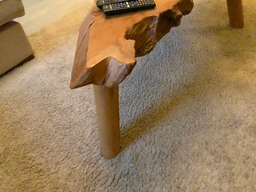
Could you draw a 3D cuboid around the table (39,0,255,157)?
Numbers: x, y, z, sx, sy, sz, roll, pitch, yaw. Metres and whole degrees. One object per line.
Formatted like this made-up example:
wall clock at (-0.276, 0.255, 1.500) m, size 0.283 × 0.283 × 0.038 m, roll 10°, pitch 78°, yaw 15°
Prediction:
table at (0.240, -0.420, 1.090) m, size 0.830 × 0.480 × 1.300 m, roll -4°, pitch 46°, yaw 6°
